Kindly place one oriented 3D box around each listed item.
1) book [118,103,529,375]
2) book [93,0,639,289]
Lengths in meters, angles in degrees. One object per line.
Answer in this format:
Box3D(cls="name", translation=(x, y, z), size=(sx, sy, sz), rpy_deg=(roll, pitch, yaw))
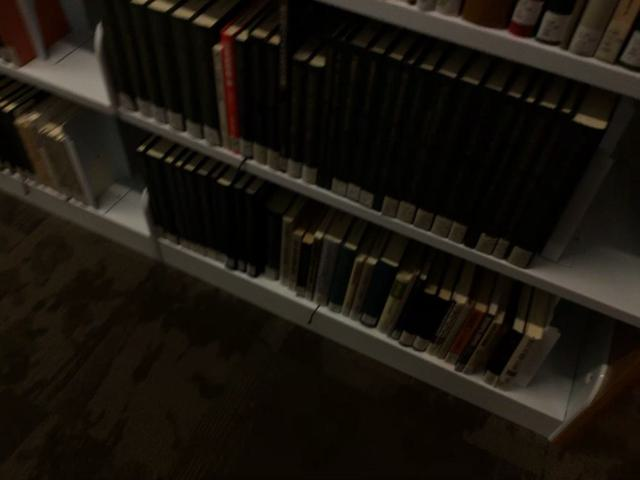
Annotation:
Box3D(cls="book", translation=(-0.020, 0.000, 1.080), size=(0.720, 0.270, 0.100), rpy_deg=(23, 55, 12))
Box3D(cls="book", translation=(0.070, -0.230, 0.830), size=(0.780, 0.260, 0.200), rpy_deg=(23, 55, 12))
